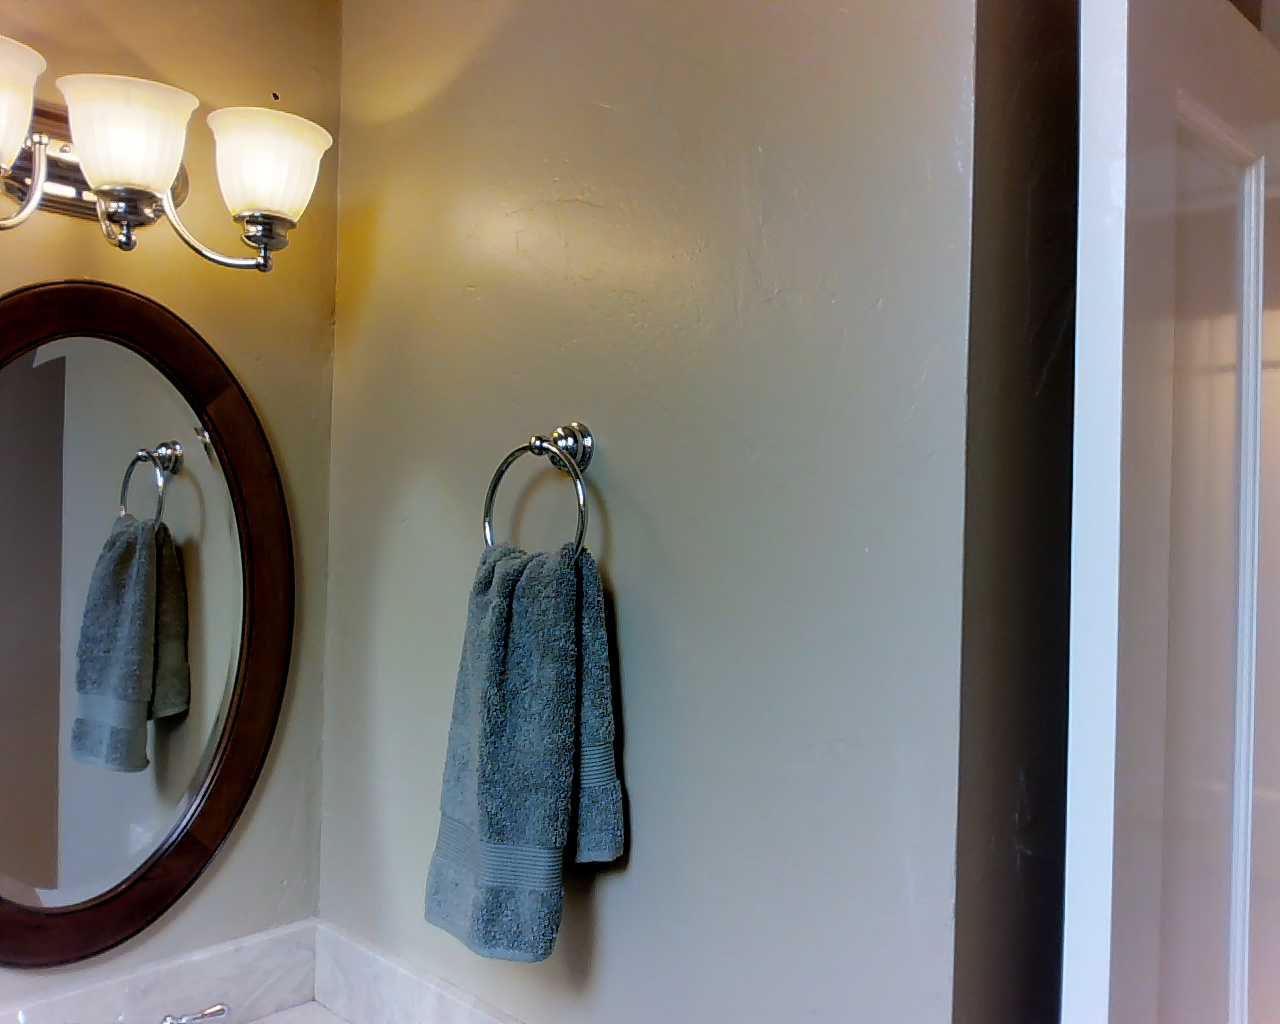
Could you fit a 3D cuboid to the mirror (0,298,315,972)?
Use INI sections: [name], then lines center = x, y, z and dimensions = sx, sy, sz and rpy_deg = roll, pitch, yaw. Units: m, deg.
[mirror]
center = -0.600, 0.130, 1.210
dimensions = 0.040, 0.700, 0.480
rpy_deg = 2, 1, 44
